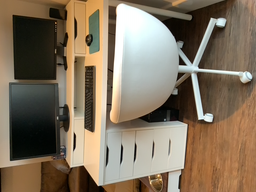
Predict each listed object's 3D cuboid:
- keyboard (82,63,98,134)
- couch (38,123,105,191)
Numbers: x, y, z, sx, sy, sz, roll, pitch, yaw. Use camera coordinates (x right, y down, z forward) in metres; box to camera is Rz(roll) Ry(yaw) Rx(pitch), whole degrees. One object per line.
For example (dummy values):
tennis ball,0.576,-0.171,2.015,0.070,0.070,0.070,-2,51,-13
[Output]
keyboard,-0.260,0.010,1.430,0.130,0.060,0.460,14,103,60
couch,-0.960,1.260,3.450,1.030,0.790,1.330,16,106,60
